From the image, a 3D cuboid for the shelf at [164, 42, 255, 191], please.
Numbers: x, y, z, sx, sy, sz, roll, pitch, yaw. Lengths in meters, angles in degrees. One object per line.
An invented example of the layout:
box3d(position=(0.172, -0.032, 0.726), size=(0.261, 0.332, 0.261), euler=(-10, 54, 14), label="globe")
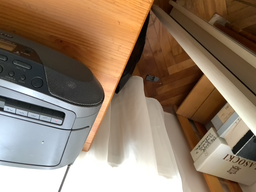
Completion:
box3d(position=(0.520, 0.470, 0.390), size=(0.280, 2.040, 0.430), euler=(19, 118, -16), label="shelf")
